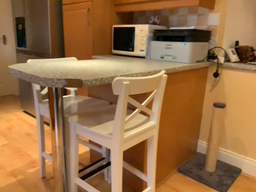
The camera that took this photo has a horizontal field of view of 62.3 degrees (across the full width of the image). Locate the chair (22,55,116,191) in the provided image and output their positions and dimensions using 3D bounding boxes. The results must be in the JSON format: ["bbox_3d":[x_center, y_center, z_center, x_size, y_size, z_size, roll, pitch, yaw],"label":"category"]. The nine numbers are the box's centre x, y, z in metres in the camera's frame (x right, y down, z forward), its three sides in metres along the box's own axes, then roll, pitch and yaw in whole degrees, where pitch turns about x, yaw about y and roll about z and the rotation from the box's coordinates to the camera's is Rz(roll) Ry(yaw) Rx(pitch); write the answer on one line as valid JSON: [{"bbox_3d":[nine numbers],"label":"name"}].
[{"bbox_3d":[-0.420,0.190,1.570,0.490,0.910,0.420,16,21,40],"label":"chair"}]

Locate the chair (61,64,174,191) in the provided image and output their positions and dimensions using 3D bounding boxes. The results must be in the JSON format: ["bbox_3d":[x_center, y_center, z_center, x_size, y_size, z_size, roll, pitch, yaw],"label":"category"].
[{"bbox_3d":[-0.070,0.290,1.280,0.440,0.890,0.430,16,21,41],"label":"chair"}]

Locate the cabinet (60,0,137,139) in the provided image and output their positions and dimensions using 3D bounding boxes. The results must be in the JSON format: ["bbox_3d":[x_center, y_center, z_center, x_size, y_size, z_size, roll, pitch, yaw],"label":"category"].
[{"bbox_3d":[-0.320,-0.700,2.360,0.520,2.190,0.630,16,21,41],"label":"cabinet"}]
